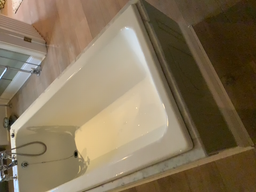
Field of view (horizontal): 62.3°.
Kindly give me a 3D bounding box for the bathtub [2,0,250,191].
[{"bbox_3d":[-0.290,0.300,1.680,1.870,0.620,0.950,-35,62,33],"label":"bathtub"}]
